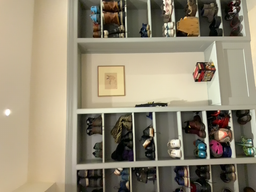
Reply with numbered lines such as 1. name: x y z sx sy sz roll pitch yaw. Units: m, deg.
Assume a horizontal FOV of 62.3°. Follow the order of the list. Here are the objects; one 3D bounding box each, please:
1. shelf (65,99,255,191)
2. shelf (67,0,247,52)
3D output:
1. shelf: 0.410 0.740 2.510 0.330 2.190 1.300 106 162 -81
2. shelf: 0.340 -1.270 2.810 0.340 2.190 1.270 106 162 -81
